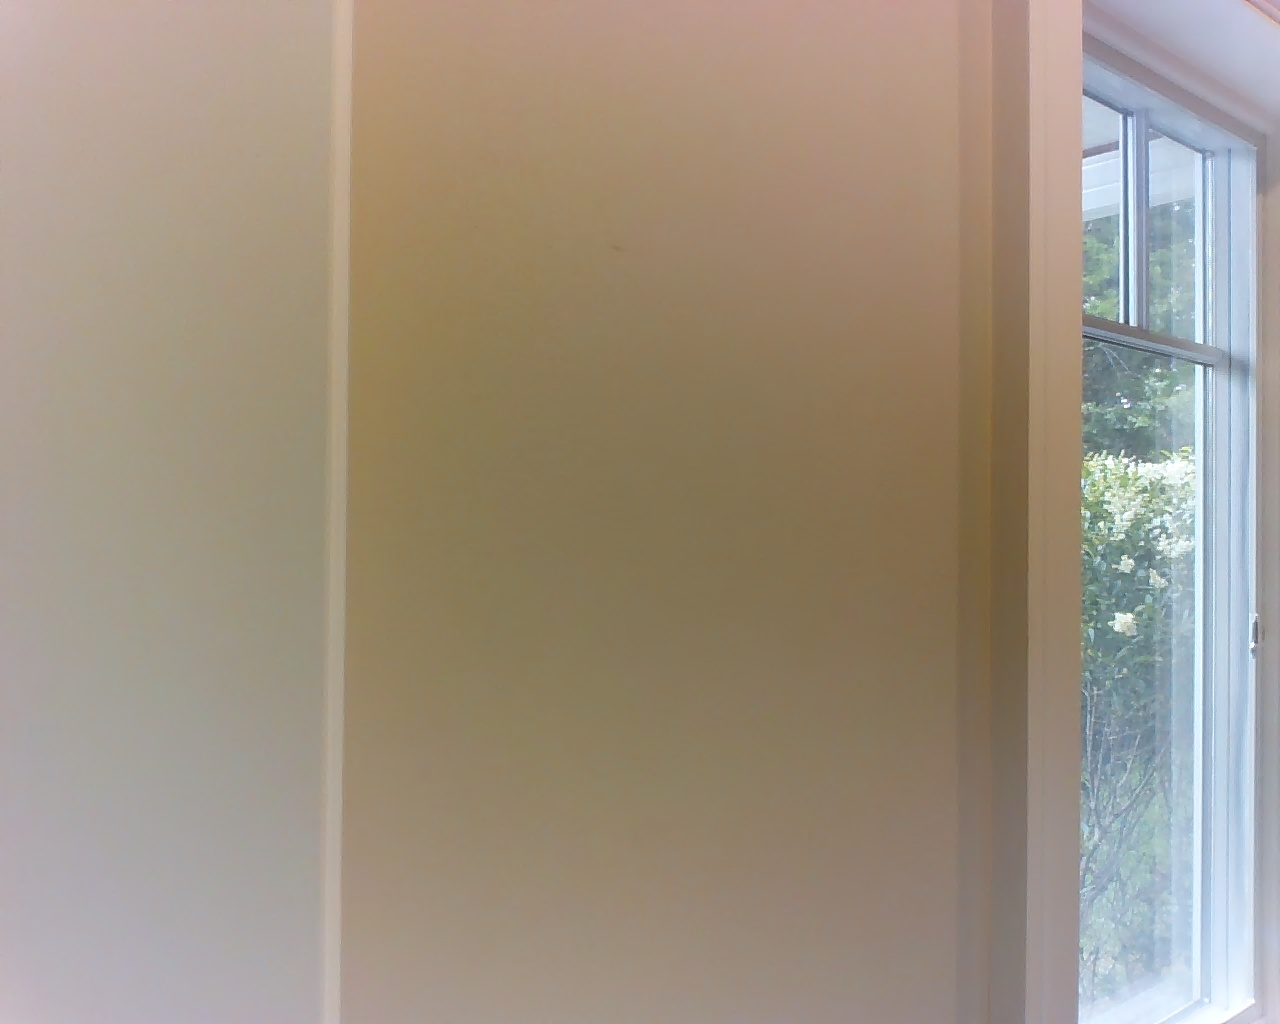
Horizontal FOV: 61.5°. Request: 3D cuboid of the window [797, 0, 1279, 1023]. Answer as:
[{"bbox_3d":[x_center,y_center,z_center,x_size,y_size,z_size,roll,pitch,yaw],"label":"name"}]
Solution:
[{"bbox_3d":[0.520,0.070,1.170,0.910,1.080,0.090,2,-1,-39],"label":"window"}]
